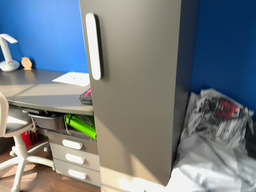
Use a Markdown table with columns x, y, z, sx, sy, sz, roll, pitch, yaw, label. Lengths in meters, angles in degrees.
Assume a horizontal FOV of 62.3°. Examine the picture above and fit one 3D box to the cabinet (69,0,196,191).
| x | y | z | sx | sy | sz | roll | pitch | yaw | label |
| --- | --- | --- | --- | --- | --- | --- | --- | --- | --- |
| 0.080 | -0.170 | 1.210 | 0.480 | 1.910 | 0.540 | 8 | 28 | 20 | cabinet |
